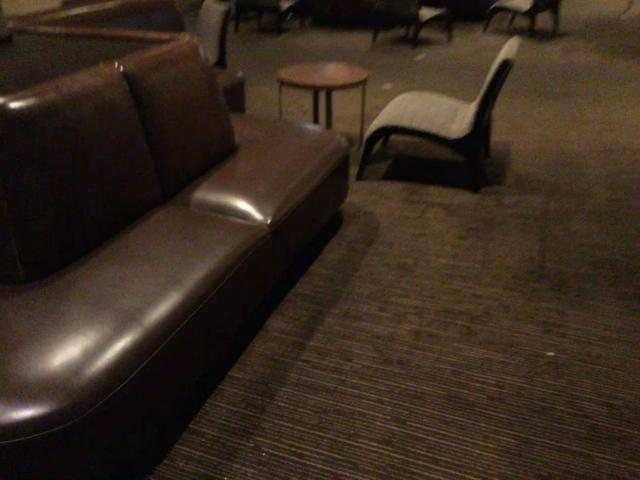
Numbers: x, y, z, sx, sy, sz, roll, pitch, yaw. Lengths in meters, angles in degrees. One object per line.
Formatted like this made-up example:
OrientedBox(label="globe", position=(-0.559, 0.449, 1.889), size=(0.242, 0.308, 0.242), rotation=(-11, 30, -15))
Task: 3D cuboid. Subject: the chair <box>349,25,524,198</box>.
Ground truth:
OrientedBox(label="chair", position=(0.690, -0.740, 3.260), size=(0.770, 0.700, 0.750), rotation=(5, 33, 23))
